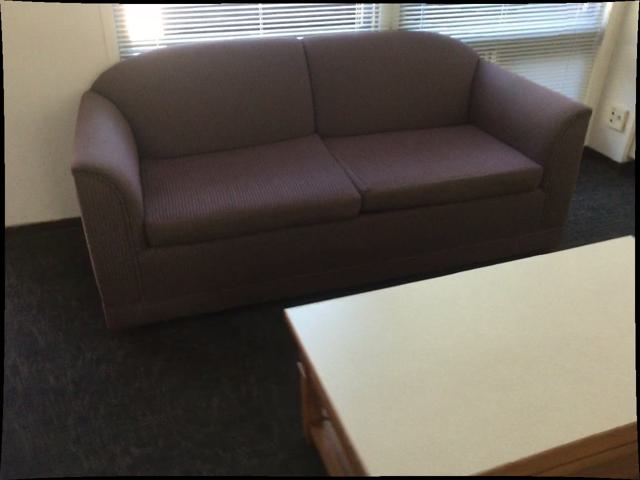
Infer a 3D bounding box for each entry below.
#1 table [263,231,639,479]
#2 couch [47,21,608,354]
[{"bbox_3d":[0.499,0.421,1.410,1.128,0.441,0.680,-9,34,-16],"label":"table"},{"bbox_3d":[-0.010,-0.331,2.320,1.787,0.781,0.930,-9,34,-16],"label":"couch"}]
